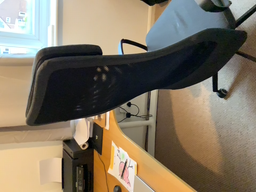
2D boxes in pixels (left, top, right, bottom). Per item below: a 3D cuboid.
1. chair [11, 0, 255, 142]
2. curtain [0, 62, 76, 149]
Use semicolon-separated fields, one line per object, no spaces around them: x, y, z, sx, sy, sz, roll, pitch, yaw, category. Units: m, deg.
0.150;-0.300;1.070;0.640;1.250;0.720;-47;53;49;chair
-1.070;0.070;1.350;0.090;1.460;0.600;17;106;57;curtain
